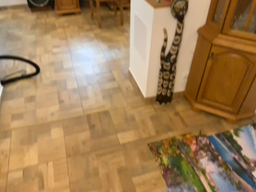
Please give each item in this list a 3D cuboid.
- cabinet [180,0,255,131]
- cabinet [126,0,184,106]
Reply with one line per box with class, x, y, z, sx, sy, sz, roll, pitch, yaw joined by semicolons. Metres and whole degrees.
cabinet;0.810;-0.630;1.360;0.430;1.970;0.440;-10;42;-14
cabinet;0.180;-0.460;1.950;0.210;0.900;0.610;-11;42;-14
